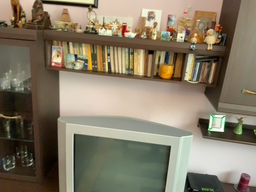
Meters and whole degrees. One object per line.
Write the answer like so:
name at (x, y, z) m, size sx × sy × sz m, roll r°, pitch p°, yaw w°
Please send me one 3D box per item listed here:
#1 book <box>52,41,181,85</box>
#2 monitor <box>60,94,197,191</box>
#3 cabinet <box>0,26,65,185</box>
book at (-0.090, -0.230, 1.420) m, size 0.840 × 0.180 × 0.110 m, roll 8°, pitch 18°, yaw 8°
monitor at (0.000, 0.390, 1.490) m, size 0.760 × 0.590 × 0.510 m, roll 7°, pitch 18°, yaw 7°
cabinet at (-0.730, 0.050, 1.580) m, size 0.360 × 1.060 × 0.430 m, roll 7°, pitch 18°, yaw 5°
